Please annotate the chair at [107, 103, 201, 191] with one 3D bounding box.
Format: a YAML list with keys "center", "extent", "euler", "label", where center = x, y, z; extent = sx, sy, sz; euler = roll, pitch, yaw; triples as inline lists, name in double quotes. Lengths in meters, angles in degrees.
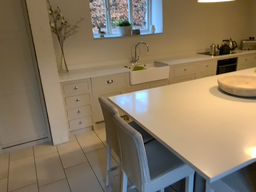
- center: [0.190, 0.610, 1.620]
  extent: [0.530, 0.960, 0.360]
  euler: [-11, 22, -22]
  label: "chair"

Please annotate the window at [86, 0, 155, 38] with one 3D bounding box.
- center: [-0.110, -1.780, 4.250]
  extent: [1.440, 1.070, 0.100]
  euler: [-12, 22, -23]
  label: "window"

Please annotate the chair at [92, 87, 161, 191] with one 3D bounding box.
- center: [0.000, 0.470, 2.020]
  extent: [0.470, 0.980, 0.420]
  euler: [-12, 22, -23]
  label: "chair"

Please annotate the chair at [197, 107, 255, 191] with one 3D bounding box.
- center: [0.810, 0.650, 1.400]
  extent: [0.470, 0.970, 0.480]
  euler: [-13, 22, -25]
  label: "chair"
